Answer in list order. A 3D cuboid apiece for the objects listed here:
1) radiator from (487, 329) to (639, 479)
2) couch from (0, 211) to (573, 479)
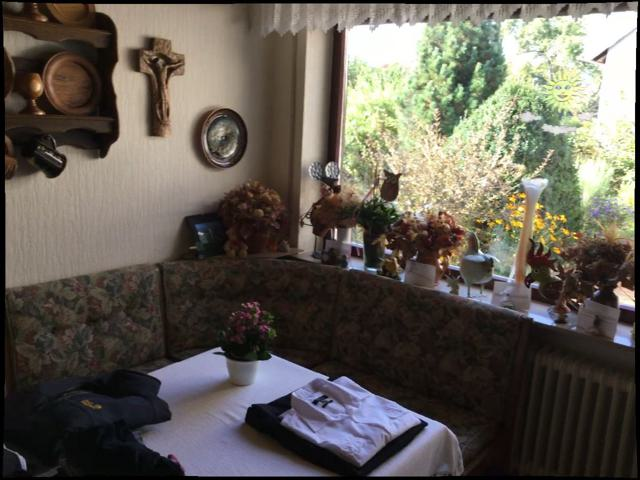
[{"bbox_3d":[1.239,0.841,2.140,1.119,0.661,0.260,16,18,38],"label":"radiator"},{"bbox_3d":[-0.330,0.611,2.080,1.539,0.921,2.339,16,18,38],"label":"couch"}]
